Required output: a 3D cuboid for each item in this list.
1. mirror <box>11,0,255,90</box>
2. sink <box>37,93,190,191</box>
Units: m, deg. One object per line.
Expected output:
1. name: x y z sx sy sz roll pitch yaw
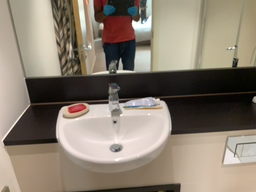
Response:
1. mirror: 0.200 -0.690 0.940 1.510 1.360 0.040 -2 25 -2
2. sink: -0.060 0.190 1.000 0.530 0.200 0.500 -3 25 -3
